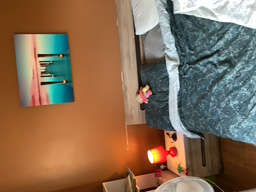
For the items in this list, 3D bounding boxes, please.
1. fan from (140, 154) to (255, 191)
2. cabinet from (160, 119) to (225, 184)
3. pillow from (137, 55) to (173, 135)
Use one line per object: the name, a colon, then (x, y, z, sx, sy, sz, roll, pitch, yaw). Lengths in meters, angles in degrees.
fan: (0.650, 0.720, 1.510, 0.430, 1.020, 0.330, 180, 86, -72)
cabinet: (0.680, 0.560, 2.310, 0.470, 0.440, 0.530, 176, 89, -72)
pillow: (0.260, -0.010, 2.160, 0.430, 0.140, 0.730, 180, 85, -72)
